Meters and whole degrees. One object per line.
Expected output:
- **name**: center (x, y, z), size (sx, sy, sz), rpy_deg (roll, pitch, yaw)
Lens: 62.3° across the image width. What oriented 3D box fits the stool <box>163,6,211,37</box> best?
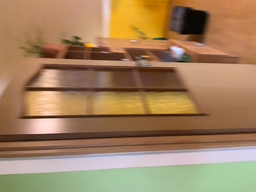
- **stool**: center (0.800, -1.060, 2.990), size (0.560, 0.410, 0.350), rpy_deg (-113, 26, -66)
